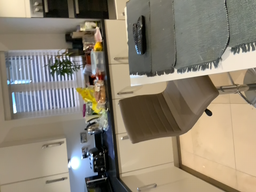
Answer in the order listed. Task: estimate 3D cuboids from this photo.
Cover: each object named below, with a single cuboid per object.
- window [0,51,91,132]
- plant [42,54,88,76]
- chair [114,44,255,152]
[{"bbox_3d":[-1.100,-0.100,2.870,0.030,1.110,1.010,175,90,-70],"label":"window"},{"bbox_3d":[-0.820,-0.400,2.750,0.240,0.530,0.230,173,91,-70],"label":"plant"},{"bbox_3d":[0.500,-0.020,1.410,0.470,1.050,0.400,107,150,-46],"label":"chair"}]
